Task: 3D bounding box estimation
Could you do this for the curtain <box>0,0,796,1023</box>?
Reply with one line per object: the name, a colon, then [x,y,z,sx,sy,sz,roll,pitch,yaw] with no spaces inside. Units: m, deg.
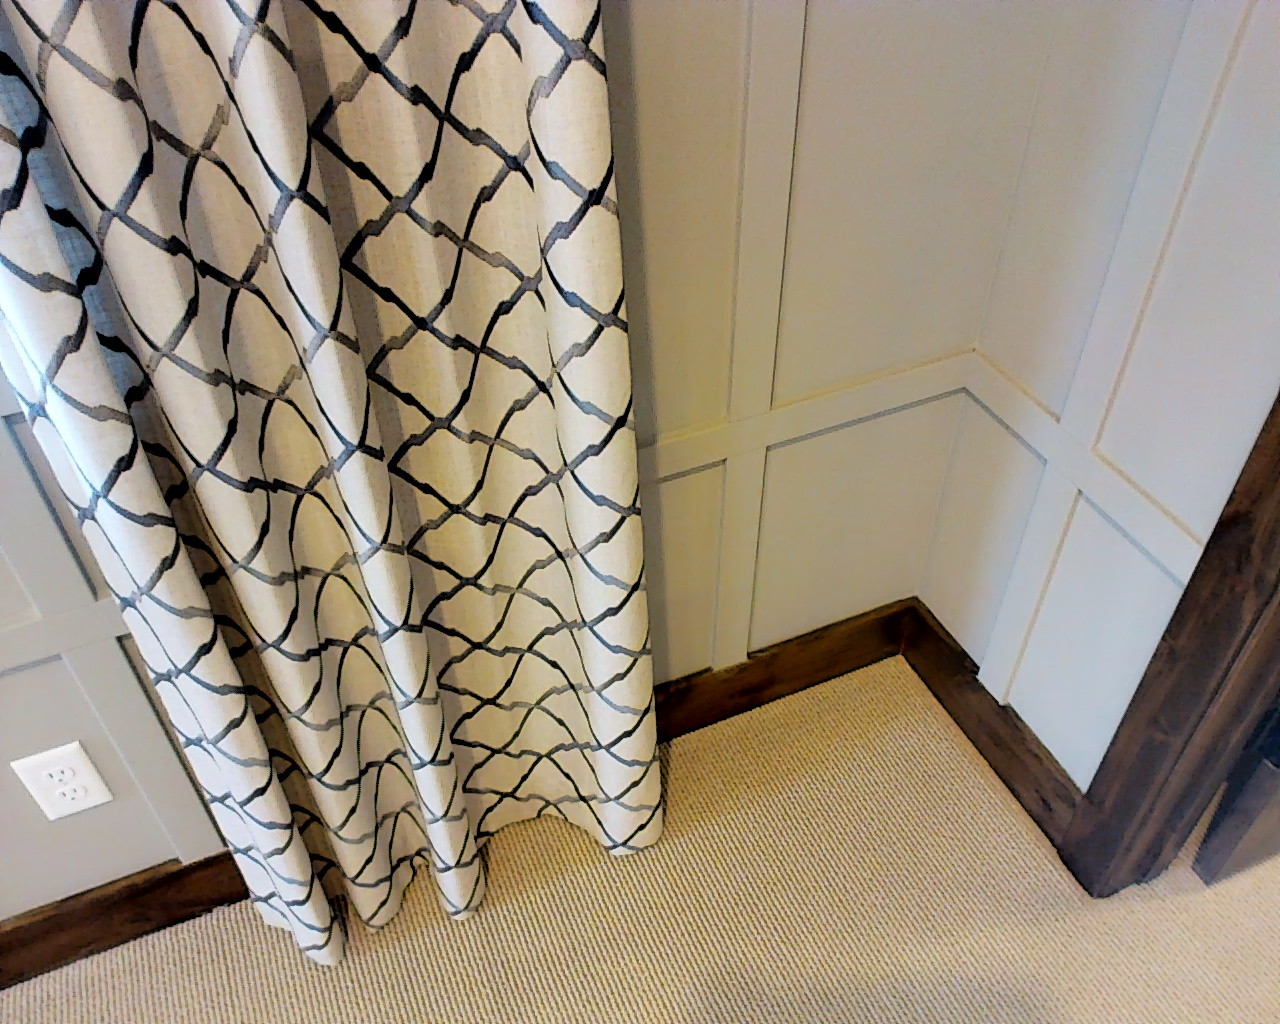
curtain: [-0.240,-0.490,0.620,0.680,2.700,0.210,-17,46,-17]
